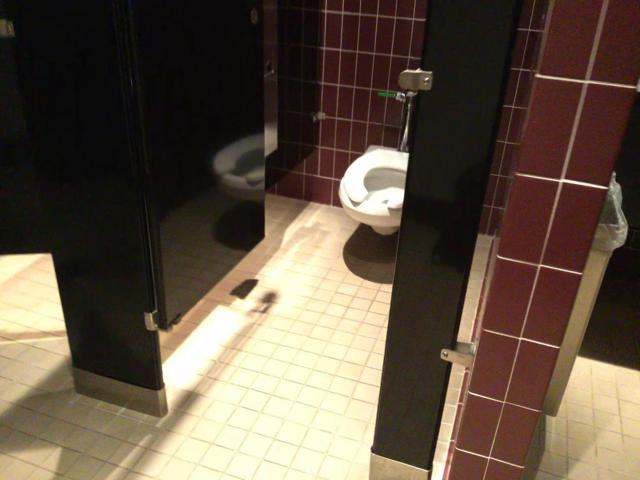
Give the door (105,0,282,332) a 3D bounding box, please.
[{"bbox_3d":[-0.270,-0.550,1.400,0.080,1.460,0.610,12,29,20],"label":"door"}]
